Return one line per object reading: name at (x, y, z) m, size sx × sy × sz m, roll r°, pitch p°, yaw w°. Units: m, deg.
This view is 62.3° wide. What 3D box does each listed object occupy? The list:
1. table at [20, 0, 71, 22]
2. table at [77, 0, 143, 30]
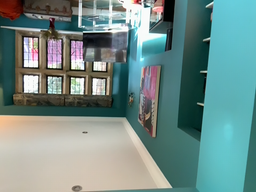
table at (-1.640, -1.830, 4.340) m, size 0.910 × 0.380 × 0.560 m, roll 2°, pitch -173°, yaw -14°
table at (-0.360, -1.650, 4.170) m, size 1.160 × 0.540 × 0.570 m, roll 7°, pitch -173°, yaw 26°
